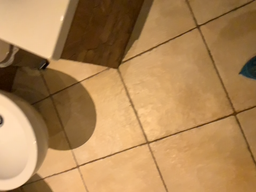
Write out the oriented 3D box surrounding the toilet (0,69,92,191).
[{"bbox_3d":[-0.520,0.130,0.940,0.500,0.410,0.350,23,99,12],"label":"toilet"}]
